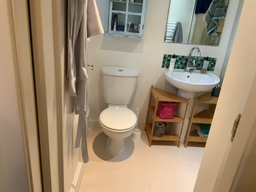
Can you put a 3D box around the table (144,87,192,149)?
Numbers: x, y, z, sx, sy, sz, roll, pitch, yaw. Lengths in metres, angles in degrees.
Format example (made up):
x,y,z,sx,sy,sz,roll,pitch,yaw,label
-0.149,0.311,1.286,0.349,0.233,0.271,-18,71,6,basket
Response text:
x,y,z,sx,sy,sz,roll,pitch,yaw,label
0.430,0.250,2.450,0.380,0.580,0.370,4,23,-5,table

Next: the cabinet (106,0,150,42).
x,y,z,sx,sy,sz,roll,pitch,yaw,label
0.000,-0.860,2.060,0.380,0.600,0.140,4,23,-5,cabinet
